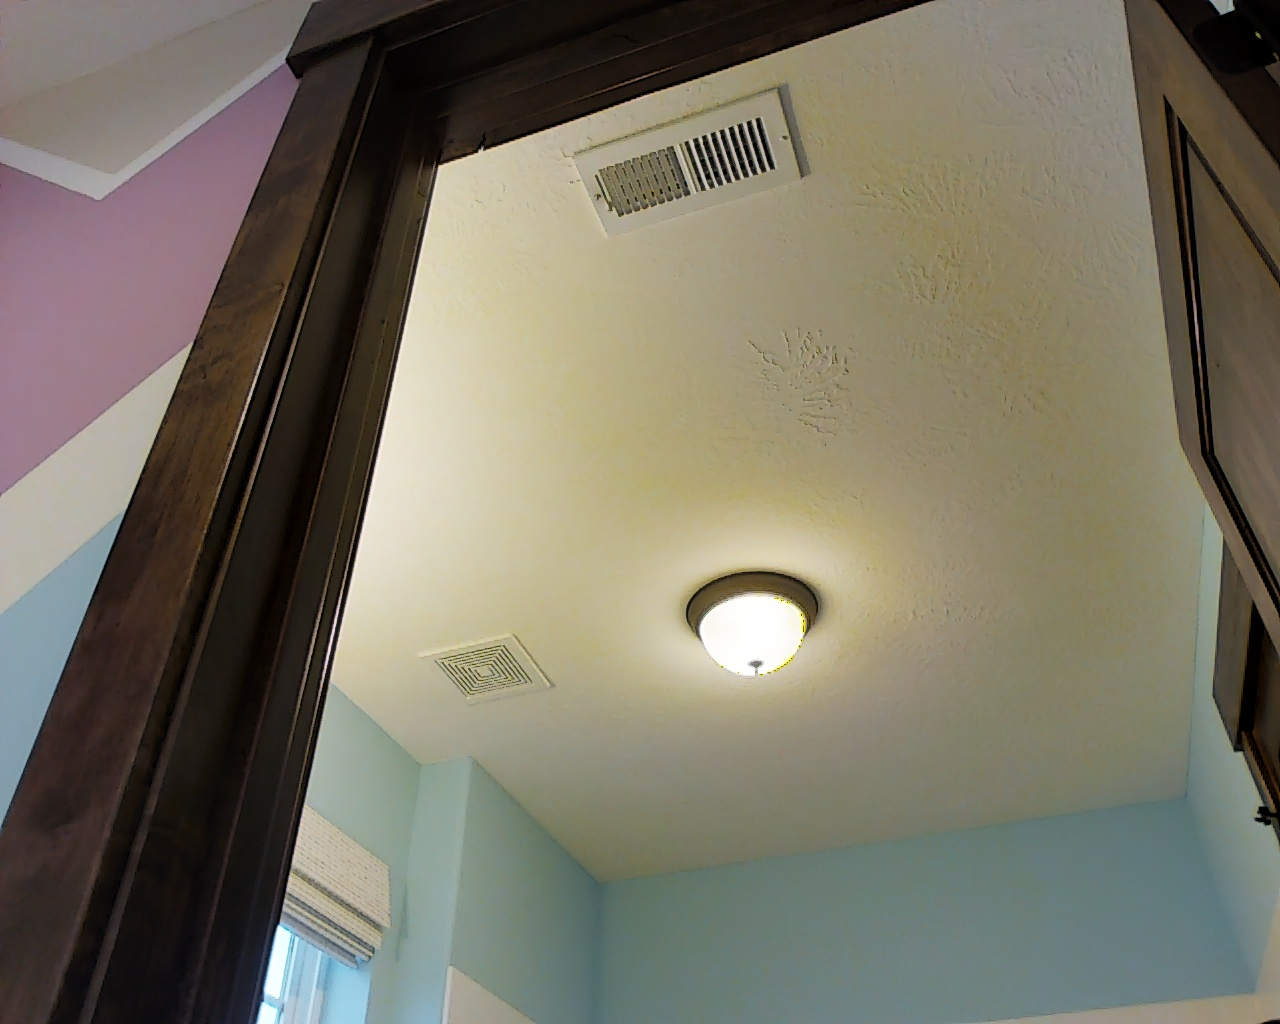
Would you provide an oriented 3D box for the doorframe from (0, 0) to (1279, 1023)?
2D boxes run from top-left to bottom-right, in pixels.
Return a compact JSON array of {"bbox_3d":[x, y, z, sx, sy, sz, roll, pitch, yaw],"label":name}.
[{"bbox_3d":[0.140,0.340,0.340,0.850,2.630,0.230,-14,-43,14],"label":"doorframe"}]
